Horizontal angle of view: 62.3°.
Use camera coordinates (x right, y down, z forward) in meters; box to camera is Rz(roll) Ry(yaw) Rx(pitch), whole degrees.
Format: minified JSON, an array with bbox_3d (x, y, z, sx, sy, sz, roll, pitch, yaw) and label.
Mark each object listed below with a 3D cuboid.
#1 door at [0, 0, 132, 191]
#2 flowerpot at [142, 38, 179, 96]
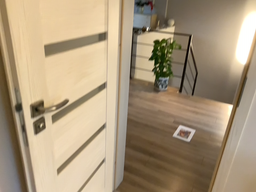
[{"bbox_3d":[-0.260,0.090,1.150,0.150,2.220,0.790,15,27,22],"label":"door"},{"bbox_3d":[0.590,-0.540,3.870,0.480,0.920,0.360,13,27,19],"label":"flowerpot"}]
